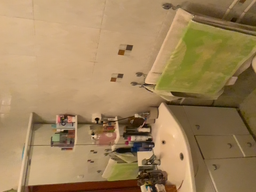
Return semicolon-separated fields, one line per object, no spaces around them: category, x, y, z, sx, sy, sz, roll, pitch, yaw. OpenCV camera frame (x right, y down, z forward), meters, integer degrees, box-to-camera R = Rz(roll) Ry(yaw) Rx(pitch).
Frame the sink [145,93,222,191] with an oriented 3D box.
sink;0.370;0.450;1.690;0.510;0.160;0.810;111;155;-46
